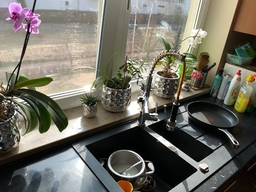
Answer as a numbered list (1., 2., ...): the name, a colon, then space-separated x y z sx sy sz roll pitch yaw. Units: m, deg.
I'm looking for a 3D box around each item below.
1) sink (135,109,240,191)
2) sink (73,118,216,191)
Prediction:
1. sink: 0.310 0.300 1.230 0.230 0.180 0.530 -15 34 -38
2. sink: 0.050 0.380 1.040 0.430 0.210 0.530 -15 34 -38
